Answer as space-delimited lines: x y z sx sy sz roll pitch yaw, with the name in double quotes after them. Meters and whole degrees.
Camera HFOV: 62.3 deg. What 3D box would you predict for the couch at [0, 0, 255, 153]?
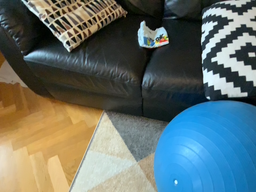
0.220 -0.450 1.230 1.610 0.870 0.970 11 50 10 "couch"
